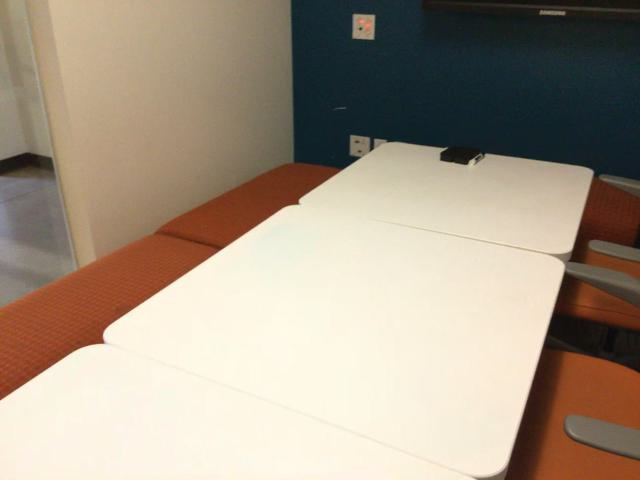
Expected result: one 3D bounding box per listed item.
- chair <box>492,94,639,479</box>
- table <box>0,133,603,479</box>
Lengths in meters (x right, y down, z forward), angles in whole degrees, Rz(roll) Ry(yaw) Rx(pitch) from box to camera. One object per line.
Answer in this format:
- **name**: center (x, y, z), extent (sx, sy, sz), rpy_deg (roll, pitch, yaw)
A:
- **chair**: center (0.910, 0.140, 1.690), extent (0.550, 0.970, 0.620), rpy_deg (12, 28, 25)
- **table**: center (0.060, 0.410, 1.390), extent (0.830, 0.750, 2.260), rpy_deg (12, 28, 26)
